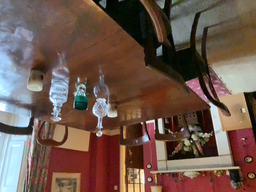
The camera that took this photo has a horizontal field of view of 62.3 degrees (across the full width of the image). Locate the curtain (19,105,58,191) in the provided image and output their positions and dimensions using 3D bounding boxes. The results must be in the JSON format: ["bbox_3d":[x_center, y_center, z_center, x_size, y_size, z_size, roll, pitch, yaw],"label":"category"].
[{"bbox_3d":[-1.580,1.380,3.670,0.240,2.430,0.410,-18,152,35],"label":"curtain"}]

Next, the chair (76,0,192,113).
[{"bbox_3d":[0.040,-0.400,1.430,0.500,0.860,0.490,-17,153,33],"label":"chair"}]
